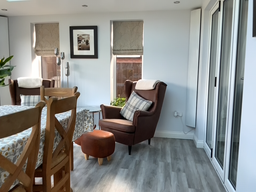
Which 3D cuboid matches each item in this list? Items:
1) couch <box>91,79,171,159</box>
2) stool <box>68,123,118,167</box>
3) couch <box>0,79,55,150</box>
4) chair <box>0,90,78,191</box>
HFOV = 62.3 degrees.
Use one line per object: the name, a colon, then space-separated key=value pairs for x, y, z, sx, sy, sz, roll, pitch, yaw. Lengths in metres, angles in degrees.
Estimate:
couch: x=0.050 y=0.250 z=3.320 sx=0.800 sy=0.990 sz=0.960 roll=7 pitch=9 yaw=42
stool: x=-0.460 y=0.610 z=2.770 sx=0.560 sy=0.370 sz=0.350 roll=6 pitch=8 yaw=33
couch: x=-1.610 y=0.220 z=3.450 sx=0.760 sy=0.960 sz=0.930 roll=-1 pitch=7 yaw=-18
chair: x=-0.710 y=0.460 z=1.650 sx=0.510 sy=0.960 sz=0.420 roll=2 pitch=7 yaw=7
